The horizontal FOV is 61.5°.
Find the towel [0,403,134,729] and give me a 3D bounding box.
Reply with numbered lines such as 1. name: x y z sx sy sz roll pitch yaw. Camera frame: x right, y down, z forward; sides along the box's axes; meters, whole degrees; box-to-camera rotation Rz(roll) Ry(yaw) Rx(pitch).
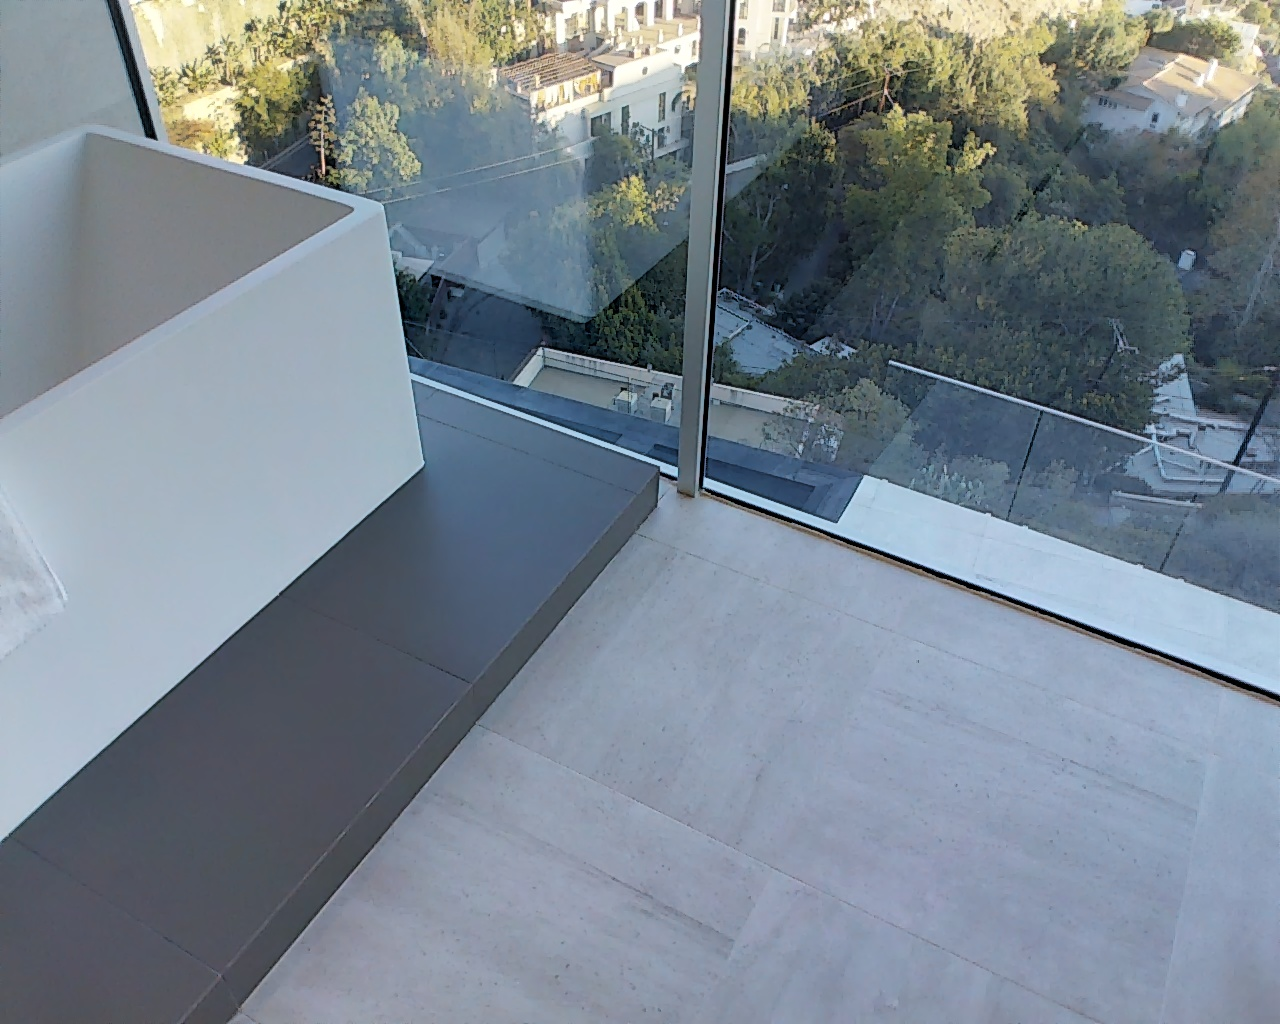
1. towel: -0.890 0.110 1.400 0.100 0.370 0.350 20 45 21
